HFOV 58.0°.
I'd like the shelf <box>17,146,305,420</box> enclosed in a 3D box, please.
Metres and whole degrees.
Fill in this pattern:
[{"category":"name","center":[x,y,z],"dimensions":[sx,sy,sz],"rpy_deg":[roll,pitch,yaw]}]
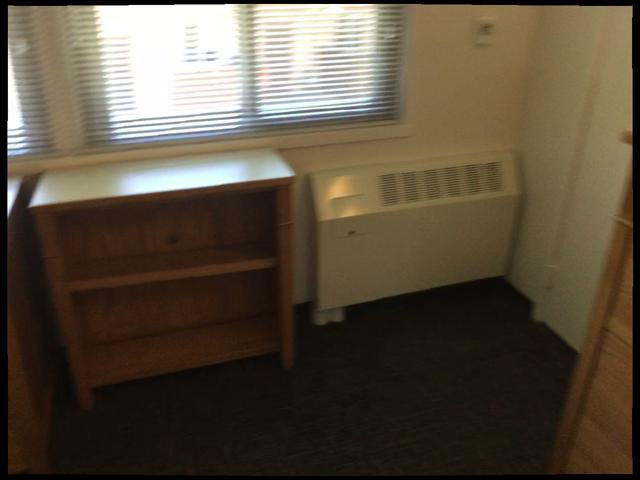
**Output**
[{"category":"shelf","center":[-0.499,0.130,2.030],"dimensions":[0.829,0.781,0.350],"rpy_deg":[-7,27,-16]}]

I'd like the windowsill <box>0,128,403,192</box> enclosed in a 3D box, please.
[{"category":"windowsill","center":[-0.888,-0.230,1.900],"dimensions":[2.486,0.090,0.080],"rpy_deg":[-7,27,-16]}]

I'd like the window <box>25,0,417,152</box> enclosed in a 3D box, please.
[{"category":"window","center":[-0.299,-0.741,2.010],"dimensions":[1.258,0.721,0.260],"rpy_deg":[-7,27,-16]}]

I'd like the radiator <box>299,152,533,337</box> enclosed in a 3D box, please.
[{"category":"radiator","center":[0.379,0.010,2.390],"dimensions":[0.918,0.651,0.170],"rpy_deg":[-7,27,-16]}]
